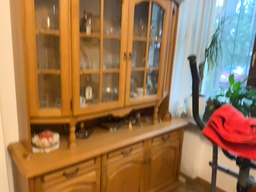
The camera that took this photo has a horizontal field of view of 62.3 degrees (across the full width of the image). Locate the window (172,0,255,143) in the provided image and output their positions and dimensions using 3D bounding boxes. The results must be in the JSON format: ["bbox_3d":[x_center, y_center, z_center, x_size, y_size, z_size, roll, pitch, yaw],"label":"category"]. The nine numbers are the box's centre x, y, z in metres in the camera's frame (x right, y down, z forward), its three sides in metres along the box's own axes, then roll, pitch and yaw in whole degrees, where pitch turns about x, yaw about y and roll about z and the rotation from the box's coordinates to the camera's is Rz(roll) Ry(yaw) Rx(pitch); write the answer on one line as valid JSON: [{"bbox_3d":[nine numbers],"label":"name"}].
[{"bbox_3d":[1.180,-0.440,2.050,0.270,1.670,1.440,-9,19,-41],"label":"window"}]

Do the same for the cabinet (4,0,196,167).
[{"bbox_3d":[-0.100,-0.330,1.740,1.490,1.280,0.410,-9,18,-40],"label":"cabinet"}]
